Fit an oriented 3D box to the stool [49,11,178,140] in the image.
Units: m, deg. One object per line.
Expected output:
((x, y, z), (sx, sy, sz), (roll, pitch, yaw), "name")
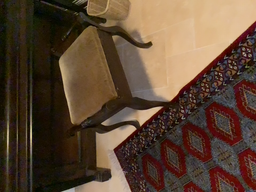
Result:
((-0.090, -0.090, 1.340), (0.370, 0.580, 0.580), (-34, 65, 35), "stool")
